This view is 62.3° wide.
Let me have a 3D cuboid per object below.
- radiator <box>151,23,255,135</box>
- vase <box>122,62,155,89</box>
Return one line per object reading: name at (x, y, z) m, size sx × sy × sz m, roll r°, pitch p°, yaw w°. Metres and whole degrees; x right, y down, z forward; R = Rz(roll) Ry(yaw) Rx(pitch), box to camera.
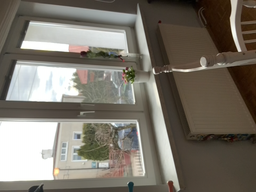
radiator at (0.720, -0.240, 2.110) m, size 0.130 × 0.770 × 1.330 m, roll 108°, pitch 160°, yaw -50°
vase at (0.100, -0.200, 2.140) m, size 0.190 × 0.280 × 0.170 m, roll 107°, pitch 161°, yaw -49°
